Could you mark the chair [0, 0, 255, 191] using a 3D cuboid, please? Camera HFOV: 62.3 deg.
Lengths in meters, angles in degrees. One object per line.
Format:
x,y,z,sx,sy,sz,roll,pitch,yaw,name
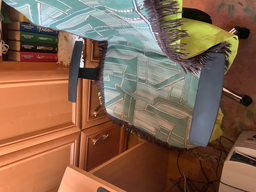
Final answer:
0.050,-0.070,0.820,0.660,1.240,0.700,14,105,33,chair
